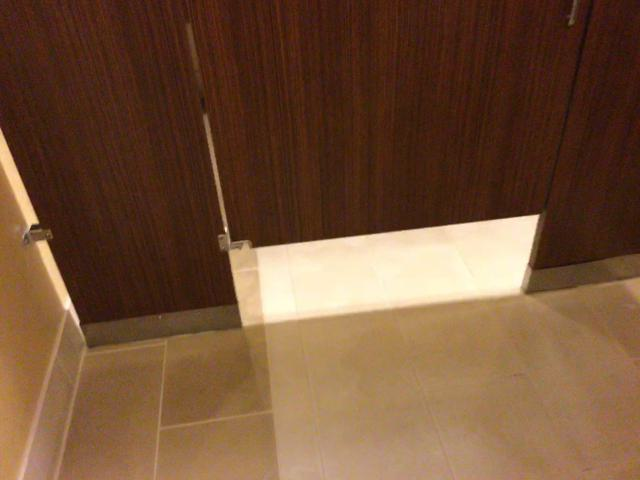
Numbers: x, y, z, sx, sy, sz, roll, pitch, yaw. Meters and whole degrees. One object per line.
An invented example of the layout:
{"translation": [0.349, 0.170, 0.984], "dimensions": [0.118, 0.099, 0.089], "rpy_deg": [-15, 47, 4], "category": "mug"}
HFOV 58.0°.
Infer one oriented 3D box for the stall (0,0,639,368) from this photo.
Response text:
{"translation": [0.220, -0.350, 1.420], "dimensions": [2.010, 1.380, 0.120], "rpy_deg": [-8, 36, -3], "category": "stall"}
